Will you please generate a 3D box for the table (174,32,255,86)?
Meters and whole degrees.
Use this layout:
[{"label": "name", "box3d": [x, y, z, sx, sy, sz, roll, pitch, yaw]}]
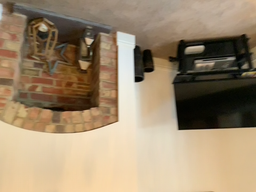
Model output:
[{"label": "table", "box3d": [1.050, -0.430, 2.620, 0.880, 0.430, 0.440, -4, 162, 7]}]
